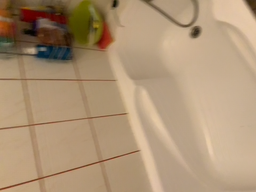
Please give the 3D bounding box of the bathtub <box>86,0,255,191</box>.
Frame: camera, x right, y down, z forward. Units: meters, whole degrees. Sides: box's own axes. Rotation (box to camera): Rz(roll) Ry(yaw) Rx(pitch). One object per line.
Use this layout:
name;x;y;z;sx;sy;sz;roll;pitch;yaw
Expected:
bathtub;0.390;0.010;1.000;0.700;0.570;1.400;-39;63;43
